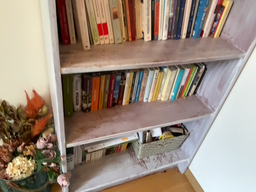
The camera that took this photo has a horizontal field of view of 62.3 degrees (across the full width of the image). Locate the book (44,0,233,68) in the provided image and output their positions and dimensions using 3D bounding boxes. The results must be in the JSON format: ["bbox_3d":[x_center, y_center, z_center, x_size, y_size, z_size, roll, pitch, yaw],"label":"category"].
[{"bbox_3d":[0.050,-0.340,0.910,0.740,0.290,0.230,-9,43,-23],"label":"book"}]
